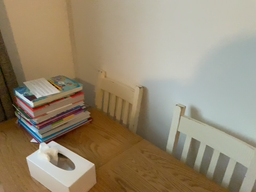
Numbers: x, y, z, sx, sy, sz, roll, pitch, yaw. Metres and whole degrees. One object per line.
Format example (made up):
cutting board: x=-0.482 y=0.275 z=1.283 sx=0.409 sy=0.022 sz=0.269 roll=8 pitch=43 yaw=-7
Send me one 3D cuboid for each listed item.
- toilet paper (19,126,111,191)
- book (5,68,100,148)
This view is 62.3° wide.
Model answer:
toilet paper: x=-0.230 y=0.250 z=0.760 sx=0.190 sy=0.100 sz=0.300 roll=-22 pitch=34 yaw=-37
book: x=-0.380 y=0.030 z=1.080 sx=0.310 sy=0.200 sz=0.350 roll=-22 pitch=34 yaw=-37
